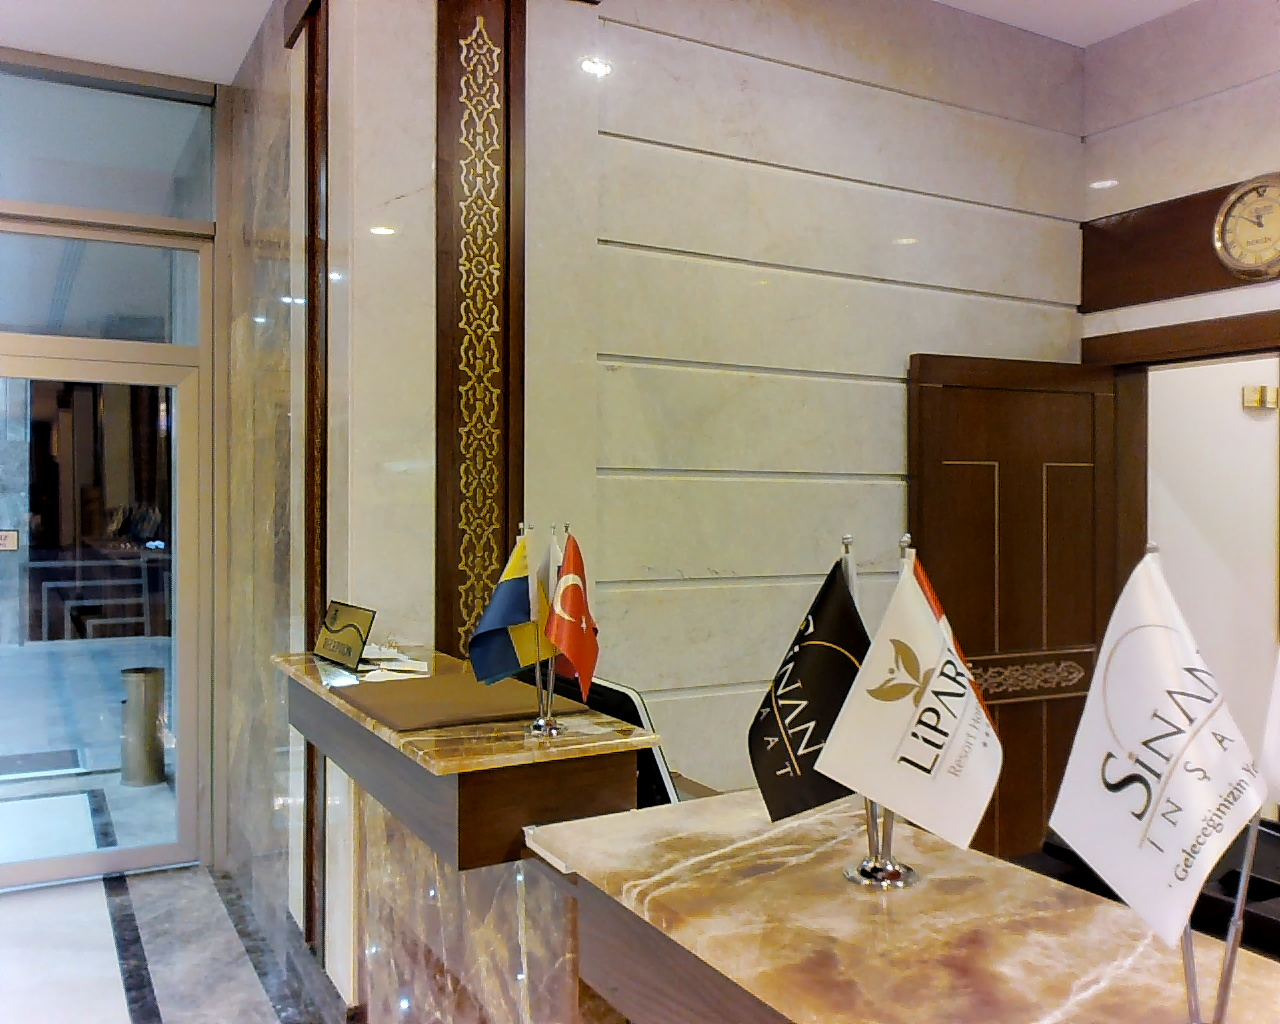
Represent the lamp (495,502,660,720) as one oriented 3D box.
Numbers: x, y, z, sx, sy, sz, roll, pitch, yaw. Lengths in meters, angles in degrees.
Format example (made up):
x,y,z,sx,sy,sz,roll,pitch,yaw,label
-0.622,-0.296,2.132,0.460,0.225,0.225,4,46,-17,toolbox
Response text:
x,y,z,sx,sy,sz,roll,pitch,yaw,label
-0.110,0.150,1.790,0.180,0.330,0.260,0,0,-29,lamp
